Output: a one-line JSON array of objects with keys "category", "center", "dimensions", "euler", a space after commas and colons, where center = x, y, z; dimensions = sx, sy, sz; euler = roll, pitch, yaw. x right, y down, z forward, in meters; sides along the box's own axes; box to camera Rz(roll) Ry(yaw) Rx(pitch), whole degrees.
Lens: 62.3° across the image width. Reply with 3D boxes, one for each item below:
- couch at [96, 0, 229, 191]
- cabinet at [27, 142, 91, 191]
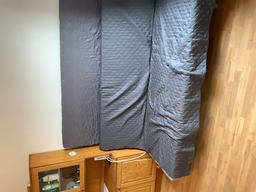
[{"category": "couch", "center": [0.240, -0.180, 2.530], "dimensions": [1.120, 0.910, 2.150], "euler": [-145, 55, -60]}, {"category": "cabinet", "center": [-0.950, 1.300, 2.980], "dimensions": [0.380, 0.770, 1.110], "euler": [-148, 57, -61]}]
